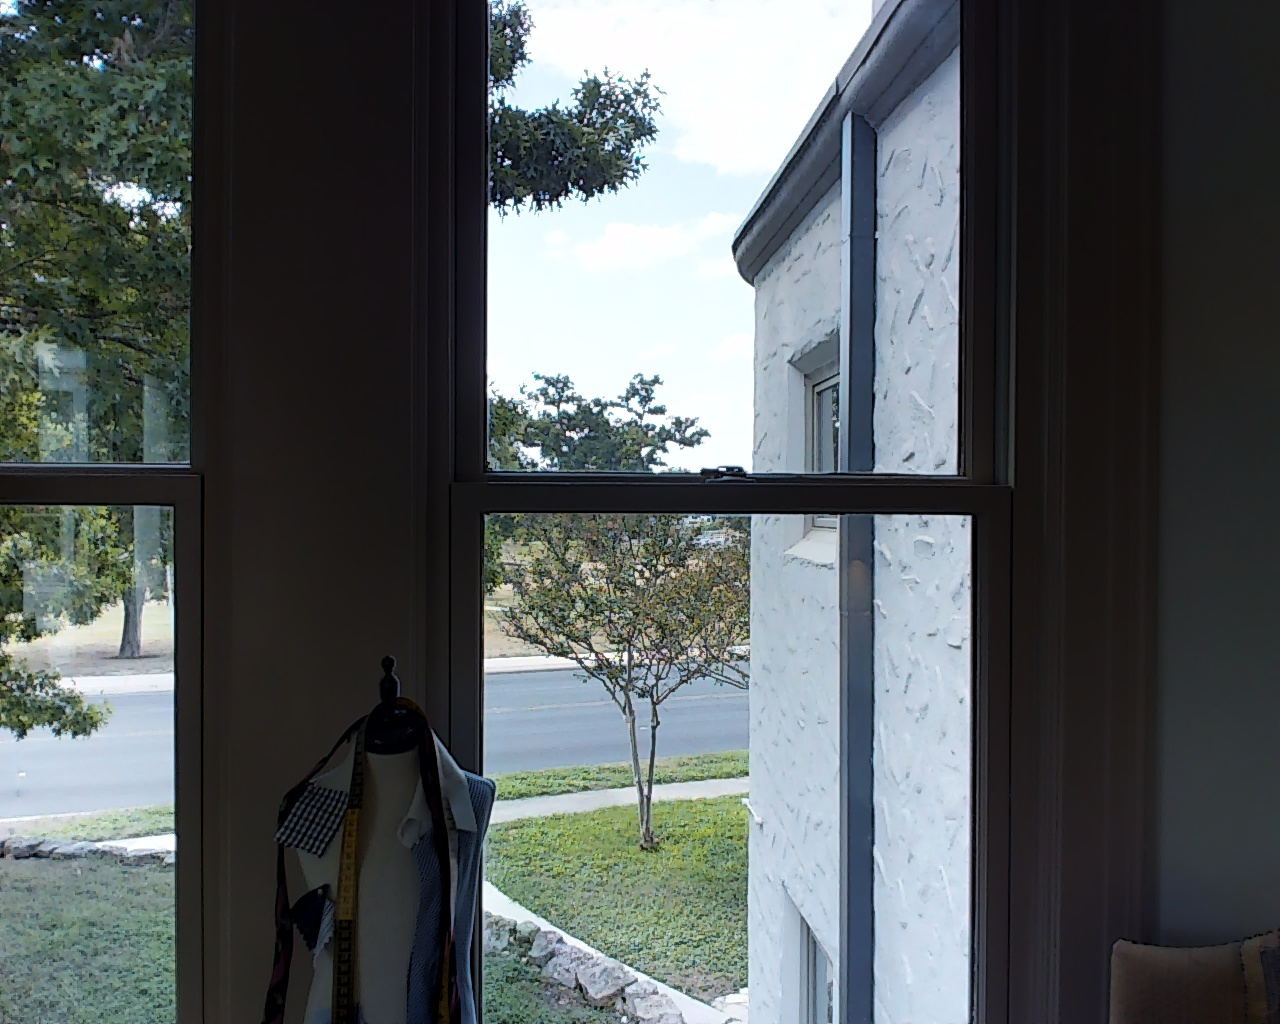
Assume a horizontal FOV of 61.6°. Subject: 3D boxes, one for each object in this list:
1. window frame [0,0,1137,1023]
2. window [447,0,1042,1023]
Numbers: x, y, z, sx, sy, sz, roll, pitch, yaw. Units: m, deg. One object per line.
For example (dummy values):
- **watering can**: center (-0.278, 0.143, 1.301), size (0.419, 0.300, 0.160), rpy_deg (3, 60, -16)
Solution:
- **window frame**: center (-0.370, -0.080, 1.300), size (1.940, 1.690, 0.130), rpy_deg (0, 0, -5)
- **window**: center (0.130, -0.010, 1.390), size (0.730, 1.480, 0.140), rpy_deg (0, 0, -5)
